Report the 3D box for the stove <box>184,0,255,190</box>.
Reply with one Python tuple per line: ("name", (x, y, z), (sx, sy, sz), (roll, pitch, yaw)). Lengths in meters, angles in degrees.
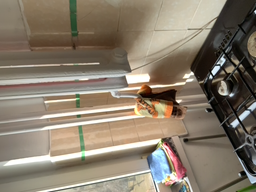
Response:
("stove", (0.490, -0.050, 0.790), (0.530, 0.150, 0.610), (105, 154, -52))
